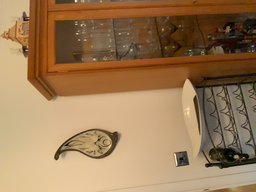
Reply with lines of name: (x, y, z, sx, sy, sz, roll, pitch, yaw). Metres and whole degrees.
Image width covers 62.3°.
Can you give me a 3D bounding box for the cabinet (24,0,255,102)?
cabinet: (0.410, -0.480, 1.430, 0.400, 1.970, 0.780, 105, 159, -73)
